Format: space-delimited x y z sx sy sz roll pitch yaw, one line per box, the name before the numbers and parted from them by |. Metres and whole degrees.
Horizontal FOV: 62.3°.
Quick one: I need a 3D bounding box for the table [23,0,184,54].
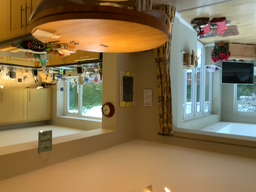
table | -0.150 -0.950 1.830 0.970 0.940 0.980 2 -179 33
